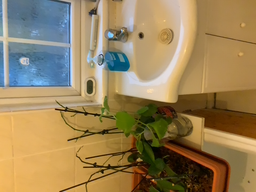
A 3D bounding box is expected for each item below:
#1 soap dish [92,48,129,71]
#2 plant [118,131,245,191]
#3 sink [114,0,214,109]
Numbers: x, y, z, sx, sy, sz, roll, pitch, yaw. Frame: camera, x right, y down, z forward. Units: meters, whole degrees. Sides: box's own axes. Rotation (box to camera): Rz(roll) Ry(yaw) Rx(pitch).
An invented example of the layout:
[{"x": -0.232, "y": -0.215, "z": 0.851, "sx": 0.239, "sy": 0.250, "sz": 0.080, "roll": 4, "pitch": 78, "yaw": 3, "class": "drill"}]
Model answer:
[{"x": -0.080, "y": -0.160, "z": 0.950, "sx": 0.100, "sy": 0.130, "sz": 0.090, "roll": 12, "pitch": 102, "yaw": 53, "class": "soap dish"}, {"x": 0.200, "y": 0.530, "z": 1.000, "sx": 0.510, "sy": 0.250, "sz": 0.590, "roll": 11, "pitch": 101, "yaw": 53, "class": "plant"}, {"x": 0.120, "y": -0.260, "z": 0.890, "sx": 0.420, "sy": 0.150, "sz": 0.560, "roll": 10, "pitch": 101, "yaw": 53, "class": "sink"}]
